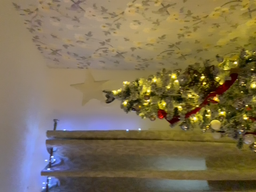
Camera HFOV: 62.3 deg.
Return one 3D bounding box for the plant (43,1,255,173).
[{"bbox_3d":[0.590,0.030,1.380,0.710,1.890,0.820,98,173,-65],"label":"plant"}]
